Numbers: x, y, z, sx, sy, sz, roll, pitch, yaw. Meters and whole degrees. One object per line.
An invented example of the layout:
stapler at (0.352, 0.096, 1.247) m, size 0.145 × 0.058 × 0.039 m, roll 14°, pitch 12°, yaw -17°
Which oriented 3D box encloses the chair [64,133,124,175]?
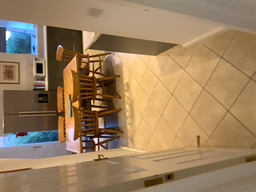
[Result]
chair at (-0.570, 0.920, 3.510) m, size 0.540 × 0.850 × 0.440 m, roll 1°, pitch 92°, yaw 62°

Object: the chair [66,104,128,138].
chair at (-0.500, 0.390, 3.380) m, size 0.550 × 0.820 × 0.440 m, roll -17°, pitch 76°, yaw 61°

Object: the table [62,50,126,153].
table at (-0.650, 0.120, 3.730) m, size 0.940 × 0.750 × 1.530 m, roll -17°, pitch 76°, yaw 61°

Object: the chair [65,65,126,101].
chair at (-0.540, -0.180, 3.430) m, size 0.560 × 0.820 × 0.490 m, roll -7°, pitch 85°, yaw 62°
